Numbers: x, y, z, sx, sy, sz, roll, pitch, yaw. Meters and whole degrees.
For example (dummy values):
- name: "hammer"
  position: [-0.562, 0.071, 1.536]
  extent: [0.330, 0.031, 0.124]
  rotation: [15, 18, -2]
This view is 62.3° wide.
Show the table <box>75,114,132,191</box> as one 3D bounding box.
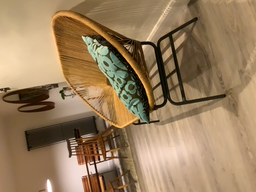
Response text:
- name: "table"
  position: [-0.510, 1.400, 4.330]
  extent: [0.890, 0.750, 1.820]
  rotation: [134, 124, -71]
